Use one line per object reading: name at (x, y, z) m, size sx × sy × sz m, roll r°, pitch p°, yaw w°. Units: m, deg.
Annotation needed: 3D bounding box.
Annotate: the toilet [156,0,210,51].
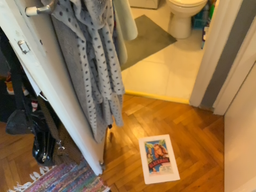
toilet at (0.500, -0.910, 1.840) m, size 0.360 × 0.740 × 0.640 m, roll 10°, pitch 56°, yaw 9°
